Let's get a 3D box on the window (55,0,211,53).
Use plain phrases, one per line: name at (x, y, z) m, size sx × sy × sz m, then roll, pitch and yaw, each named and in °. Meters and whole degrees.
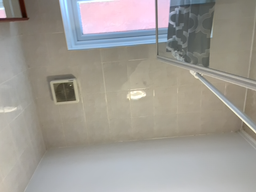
window at (0.030, -0.890, 1.670) m, size 1.160 × 0.950 × 0.330 m, roll -6°, pitch -159°, yaw -5°
